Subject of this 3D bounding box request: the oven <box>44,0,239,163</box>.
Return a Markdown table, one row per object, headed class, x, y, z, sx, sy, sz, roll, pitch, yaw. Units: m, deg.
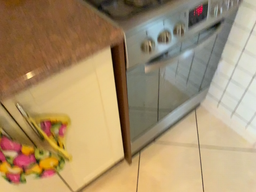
| class | x | y | z | sx | sy | sz | roll | pitch | yaw |
| --- | --- | --- | --- | --- | --- | --- | --- | --- | --- |
| oven | 0.060 | -0.170 | 1.200 | 0.640 | 0.670 | 0.580 | -33 | 57 | -22 |
